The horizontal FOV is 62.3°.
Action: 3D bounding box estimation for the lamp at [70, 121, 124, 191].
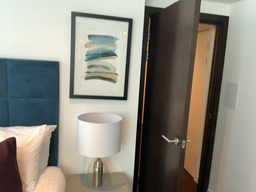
[{"bbox_3d":[-0.270,0.490,1.760,0.380,0.480,0.380,2,9,-12],"label":"lamp"}]
